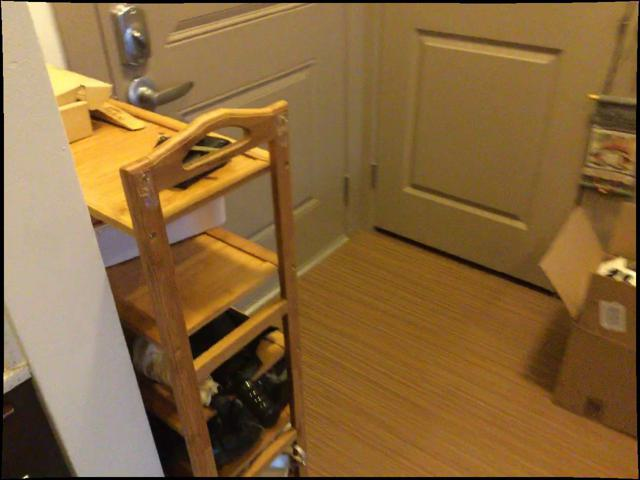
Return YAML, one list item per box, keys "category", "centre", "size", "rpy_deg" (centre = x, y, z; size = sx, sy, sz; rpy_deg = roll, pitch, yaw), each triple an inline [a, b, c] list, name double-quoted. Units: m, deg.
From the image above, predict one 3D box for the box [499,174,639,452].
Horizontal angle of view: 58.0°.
- category: "box"
  centre: [0.918, 0.221, 1.540]
  size: [0.659, 0.501, 0.460]
  rpy_deg: [20, 41, 30]

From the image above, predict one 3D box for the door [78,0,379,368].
- category: "door"
  centre: [-0.160, -0.722, 1.550]
  size: [0.130, 2.033, 1.040]
  rpy_deg: [20, 41, 30]

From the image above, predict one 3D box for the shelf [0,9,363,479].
- category: "shelf"
  centre: [-0.349, 0.170, 1.160]
  size: [0.779, 1.052, 0.390]
  rpy_deg: [20, 41, 30]
